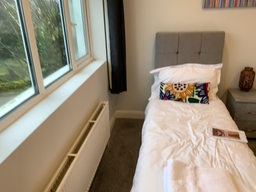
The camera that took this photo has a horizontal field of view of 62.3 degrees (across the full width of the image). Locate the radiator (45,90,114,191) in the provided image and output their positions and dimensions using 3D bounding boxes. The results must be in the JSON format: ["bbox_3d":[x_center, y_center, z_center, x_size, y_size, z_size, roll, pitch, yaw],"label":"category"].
[{"bbox_3d":[-0.320,0.510,1.830,0.080,0.560,1.670,1,23,6],"label":"radiator"}]
